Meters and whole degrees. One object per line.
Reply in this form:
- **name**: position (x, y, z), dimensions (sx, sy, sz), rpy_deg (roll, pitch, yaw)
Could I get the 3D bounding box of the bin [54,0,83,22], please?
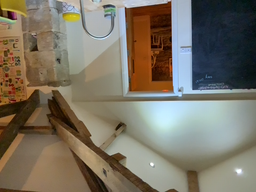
- **bin**: position (-1.010, -1.670, 3.590), dimensions (0.340, 0.710, 0.330), rpy_deg (0, -172, 15)
